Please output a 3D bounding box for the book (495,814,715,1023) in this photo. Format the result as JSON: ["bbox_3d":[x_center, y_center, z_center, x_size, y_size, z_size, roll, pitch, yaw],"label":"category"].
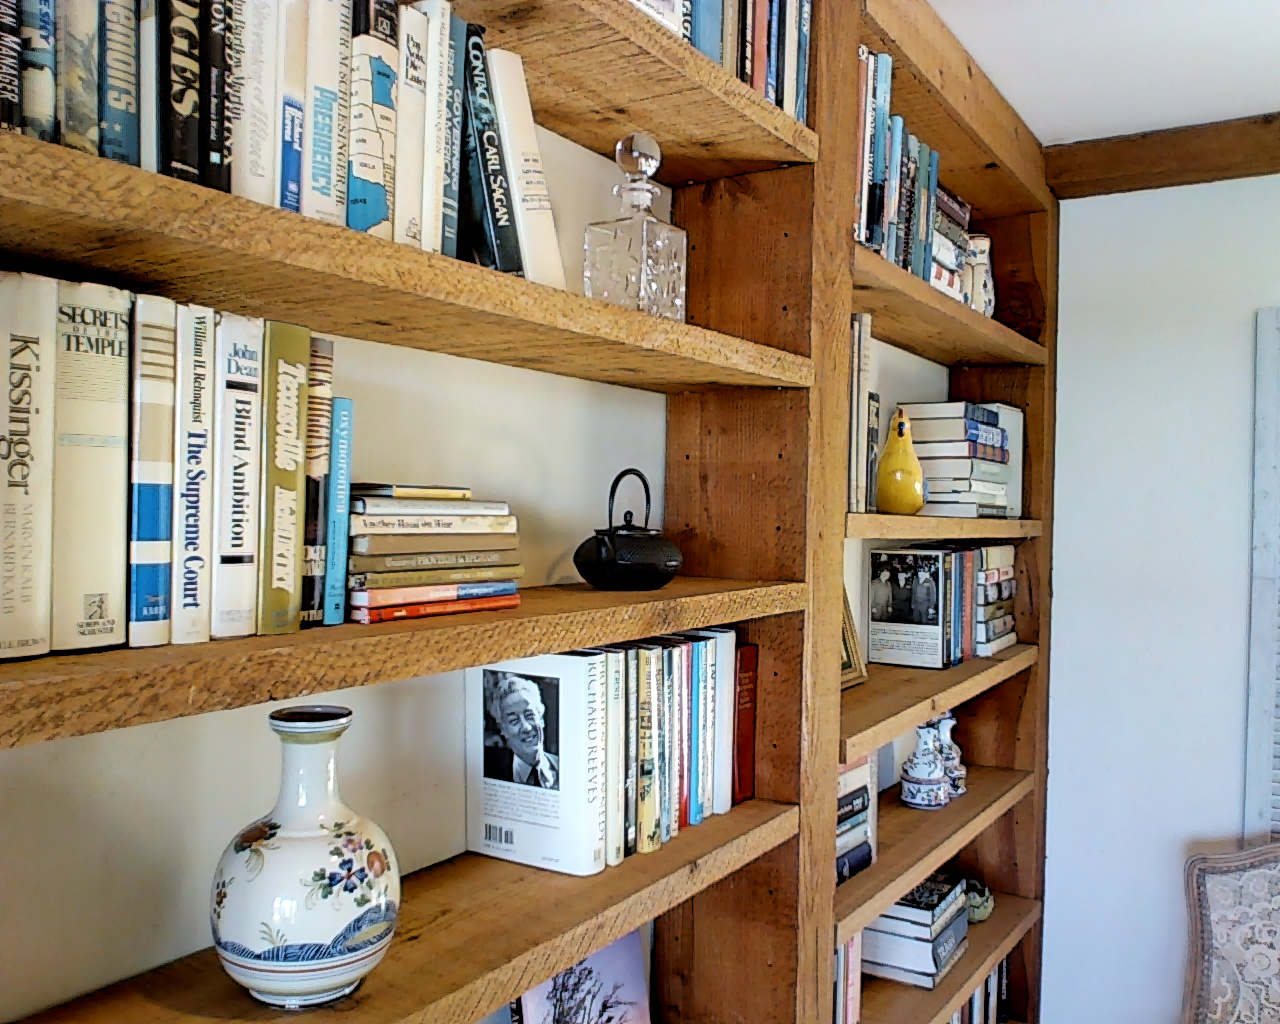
[{"bbox_3d":[-0.040,0.620,1.440,0.100,0.350,0.340,2,-2,36],"label":"book"}]

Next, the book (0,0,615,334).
[{"bbox_3d":[-0.230,-0.310,0.810,0.110,0.270,0.540,2,1,36],"label":"book"}]

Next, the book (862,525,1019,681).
[{"bbox_3d":[0.700,0.190,2.460,0.200,0.310,0.480,2,1,34],"label":"book"}]
